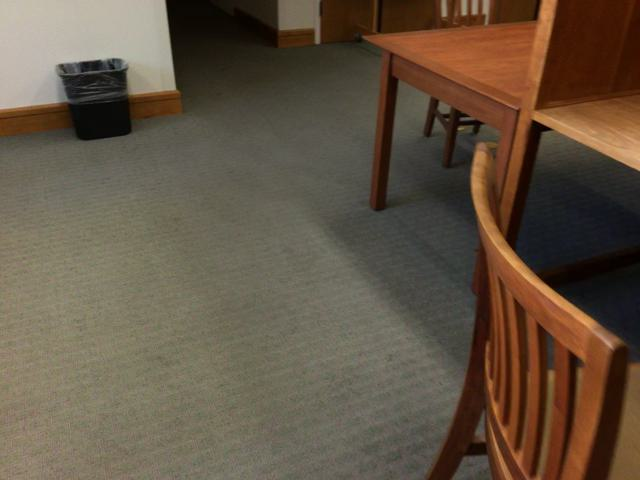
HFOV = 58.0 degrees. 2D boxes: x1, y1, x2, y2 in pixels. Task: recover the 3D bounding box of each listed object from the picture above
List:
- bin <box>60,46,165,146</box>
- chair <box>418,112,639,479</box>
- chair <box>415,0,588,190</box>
[{"bbox_3d":[-1.140,-0.800,3.190,0.430,0.400,0.290,-16,34,-18],"label":"bin"},{"bbox_3d":[0.520,0.330,0.990,0.590,0.920,0.590,-3,32,2],"label":"chair"},{"bbox_3d":[0.860,-0.820,2.920,0.560,0.890,0.570,-10,33,-9],"label":"chair"}]
